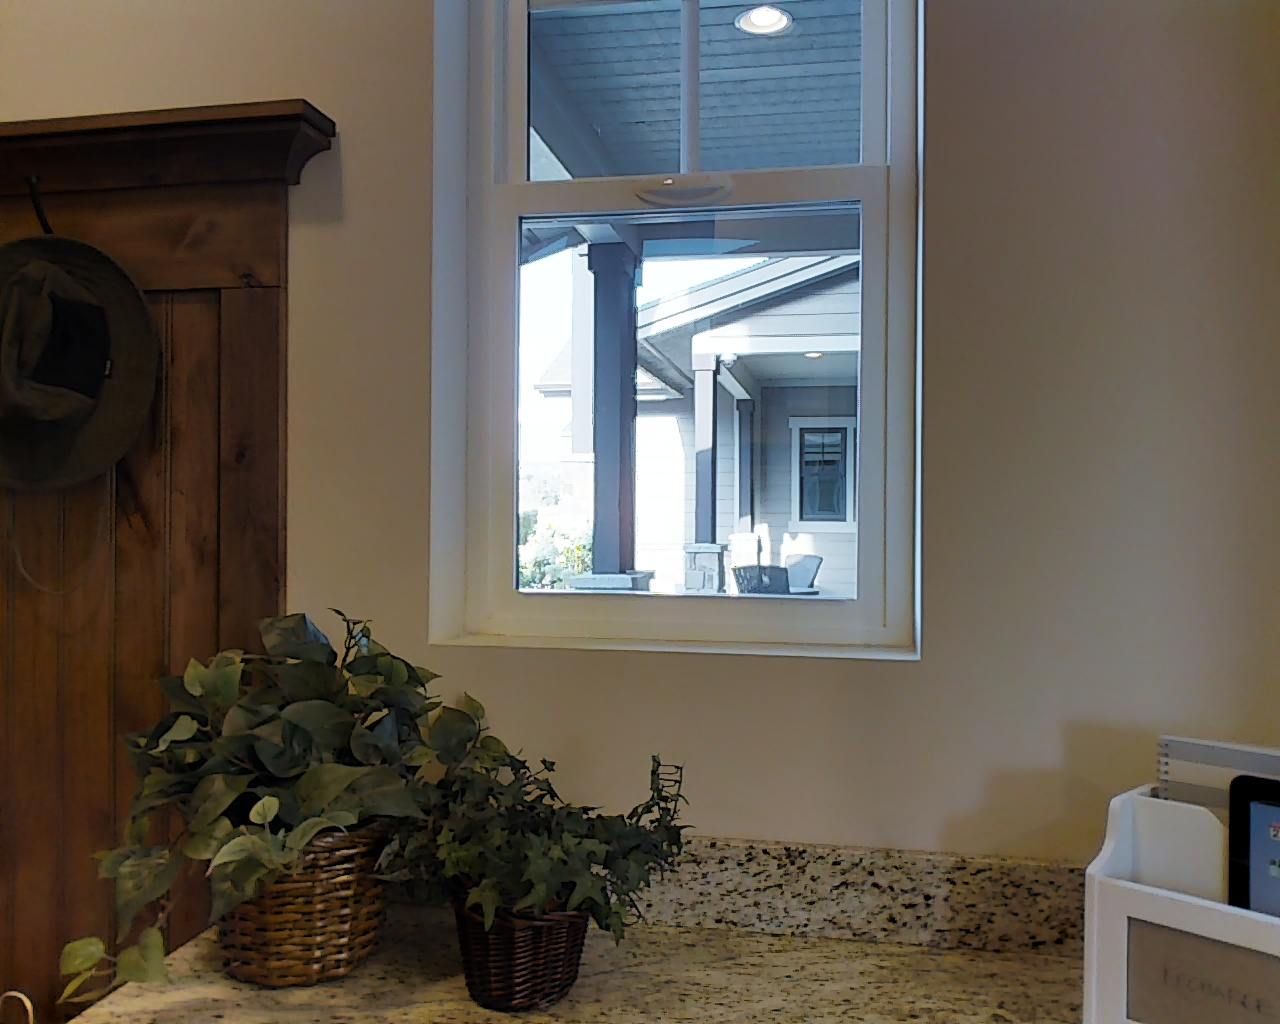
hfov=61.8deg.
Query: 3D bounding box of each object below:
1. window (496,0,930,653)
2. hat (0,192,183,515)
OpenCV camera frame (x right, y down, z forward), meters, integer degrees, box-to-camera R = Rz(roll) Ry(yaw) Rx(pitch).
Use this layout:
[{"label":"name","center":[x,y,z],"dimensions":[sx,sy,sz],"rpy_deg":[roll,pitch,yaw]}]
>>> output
[{"label":"window","center":[0.090,-0.410,1.410],"dimensions":[0.560,1.170,0.070],"rpy_deg":[0,0,10]},{"label":"hat","center":[-0.750,-0.190,1.350],"dimensions":[0.270,0.350,0.090],"rpy_deg":[-9,-2,10]}]
